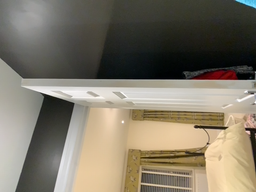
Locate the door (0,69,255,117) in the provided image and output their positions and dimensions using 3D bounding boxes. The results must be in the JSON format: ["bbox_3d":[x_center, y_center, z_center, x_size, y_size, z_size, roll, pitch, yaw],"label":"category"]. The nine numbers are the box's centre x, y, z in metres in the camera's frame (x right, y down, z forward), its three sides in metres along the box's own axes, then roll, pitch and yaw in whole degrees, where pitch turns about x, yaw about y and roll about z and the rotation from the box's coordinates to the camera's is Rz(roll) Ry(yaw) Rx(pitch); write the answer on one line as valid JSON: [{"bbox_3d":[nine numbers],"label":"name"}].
[{"bbox_3d":[0.500,0.030,1.230,0.890,2.190,0.090,43,-130,-77],"label":"door"}]
